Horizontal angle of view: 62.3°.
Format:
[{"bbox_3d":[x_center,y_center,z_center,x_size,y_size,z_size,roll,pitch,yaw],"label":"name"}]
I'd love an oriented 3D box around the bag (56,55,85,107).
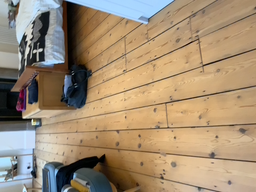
[{"bbox_3d":[-0.740,-0.170,2.690,0.410,0.220,0.560,-16,75,54],"label":"bag"}]
